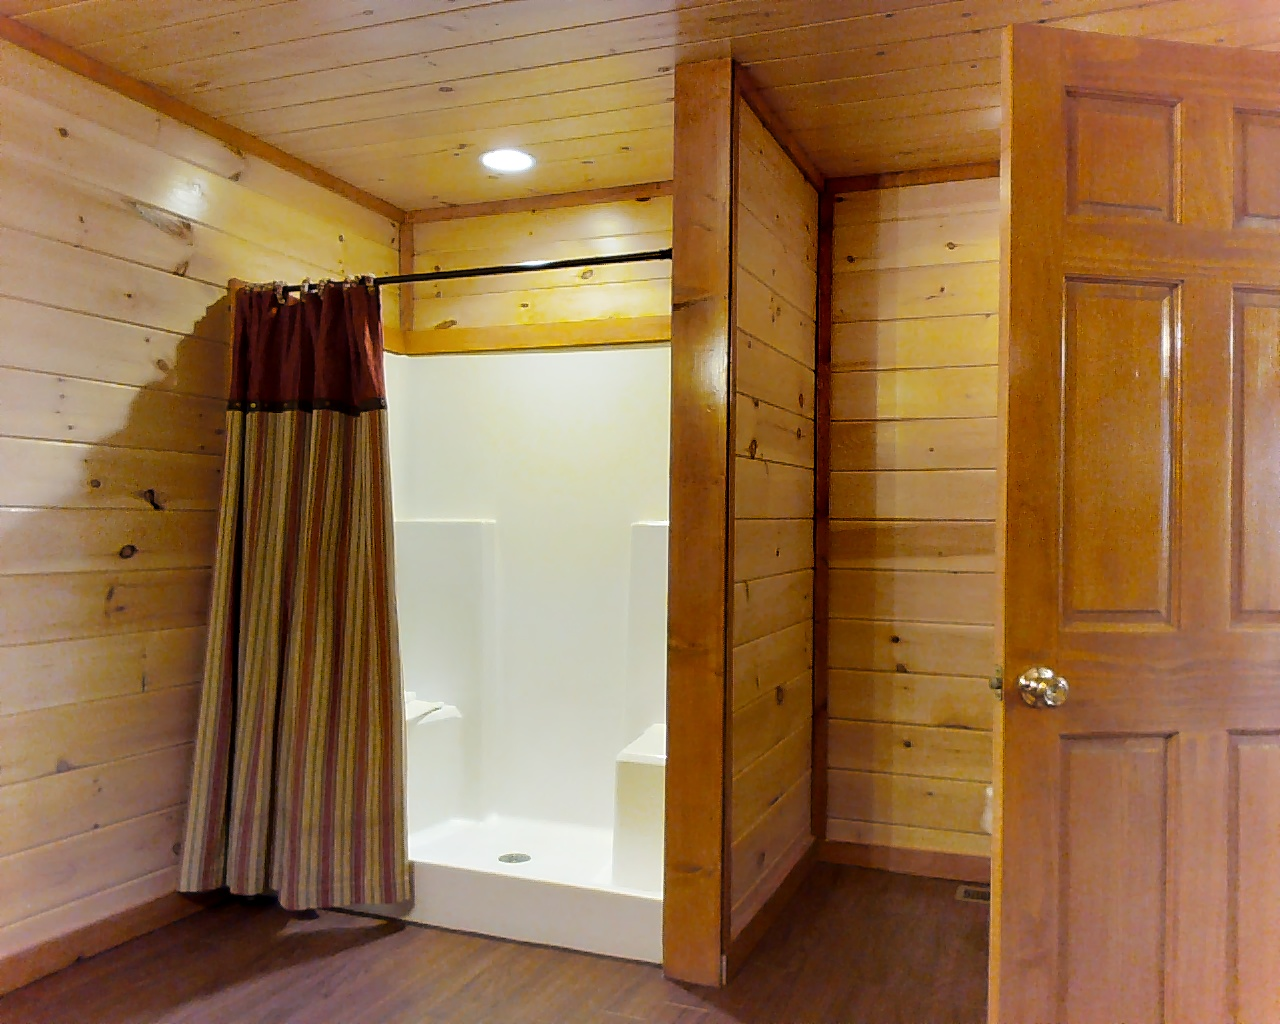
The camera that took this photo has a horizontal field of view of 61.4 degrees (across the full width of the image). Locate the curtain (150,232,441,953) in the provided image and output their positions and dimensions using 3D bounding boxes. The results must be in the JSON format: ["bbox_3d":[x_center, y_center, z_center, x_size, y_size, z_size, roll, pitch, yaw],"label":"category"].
[{"bbox_3d":[-1.020,0.210,3.200,0.710,1.931,0.380,1,0,23],"label":"curtain"}]

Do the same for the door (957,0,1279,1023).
[{"bbox_3d":[0.990,0.160,1.890,0.820,2.051,0.150,1,0,-10],"label":"door"}]
